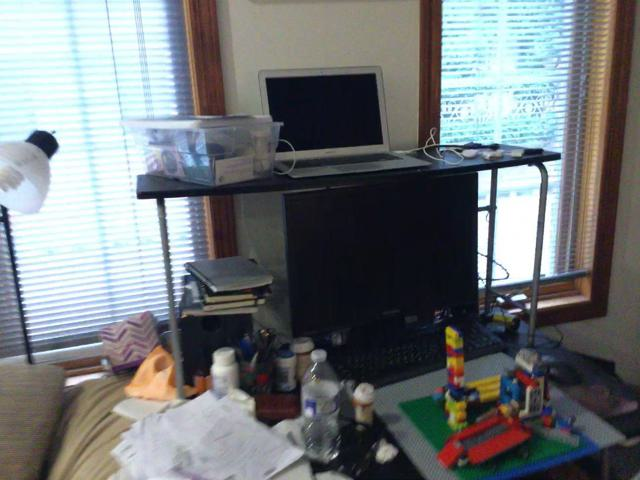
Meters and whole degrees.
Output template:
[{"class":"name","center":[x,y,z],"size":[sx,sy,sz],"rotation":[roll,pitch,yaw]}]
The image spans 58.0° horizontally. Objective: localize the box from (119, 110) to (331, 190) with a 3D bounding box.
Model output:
[{"class":"box","center":[-0.210,-0.200,1.220],"size":[0.350,0.130,0.330],"rotation":[-8,13,-26]}]

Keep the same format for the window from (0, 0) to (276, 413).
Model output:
[{"class":"window","center":[-0.510,-0.100,1.430],"size":[0.740,0.950,0.160],"rotation":[-6,13,-18]}]

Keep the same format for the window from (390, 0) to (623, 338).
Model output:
[{"class":"window","center":[0.540,-0.250,1.710],"size":[0.650,0.980,0.170],"rotation":[-6,13,-18]}]

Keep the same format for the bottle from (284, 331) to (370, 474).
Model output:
[{"class":"bottle","center":[0.010,0.280,1.020],"size":[0.110,0.190,0.130],"rotation":[-6,13,-18]}]
